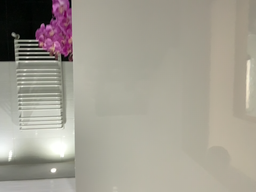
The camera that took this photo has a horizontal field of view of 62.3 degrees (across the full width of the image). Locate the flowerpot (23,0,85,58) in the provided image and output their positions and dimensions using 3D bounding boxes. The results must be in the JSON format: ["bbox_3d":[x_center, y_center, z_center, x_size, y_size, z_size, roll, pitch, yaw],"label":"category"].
[{"bbox_3d":[-0.310,-0.520,0.930,0.210,0.670,0.270,-1,-175,-8],"label":"flowerpot"}]
